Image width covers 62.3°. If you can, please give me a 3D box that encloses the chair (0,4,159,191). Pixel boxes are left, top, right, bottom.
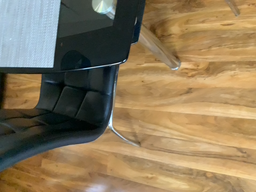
[{"bbox_3d":[-0.260,0.090,0.920,0.410,0.940,0.540,13,90,26],"label":"chair"}]
